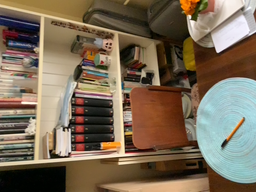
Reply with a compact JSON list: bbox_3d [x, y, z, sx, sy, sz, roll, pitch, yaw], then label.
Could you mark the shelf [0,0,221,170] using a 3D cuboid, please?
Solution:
[{"bbox_3d":[-0.340,-0.040,1.460,0.410,2.150,0.950,-29,61,58],"label":"shelf"}]
